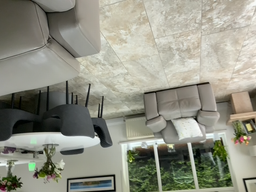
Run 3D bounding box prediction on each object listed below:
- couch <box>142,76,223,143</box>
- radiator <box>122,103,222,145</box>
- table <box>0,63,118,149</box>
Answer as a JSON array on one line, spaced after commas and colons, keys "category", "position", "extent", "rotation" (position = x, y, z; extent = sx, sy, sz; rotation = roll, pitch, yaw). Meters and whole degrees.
[{"category": "couch", "position": [0.920, 0.300, 3.700], "extent": [1.120, 0.810, 0.870], "rotation": [-10, 159, 14]}, {"category": "radiator", "position": [0.850, 0.610, 4.450], "extent": [1.970, 0.600, 0.140], "rotation": [-10, 159, 15]}, {"category": "table", "position": [-1.130, 0.310, 3.390], "extent": [1.430, 0.770, 1.550], "rotation": [-11, 159, 16]}]
